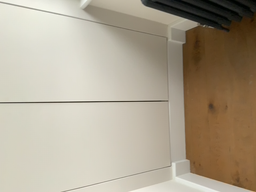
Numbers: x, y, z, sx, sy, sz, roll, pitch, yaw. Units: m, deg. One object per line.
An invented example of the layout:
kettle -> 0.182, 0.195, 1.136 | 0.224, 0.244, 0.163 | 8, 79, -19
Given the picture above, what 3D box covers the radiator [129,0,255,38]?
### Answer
radiator -> 0.420, -0.440, 0.940 | 0.550, 0.630, 0.120 | -3, 87, 56
